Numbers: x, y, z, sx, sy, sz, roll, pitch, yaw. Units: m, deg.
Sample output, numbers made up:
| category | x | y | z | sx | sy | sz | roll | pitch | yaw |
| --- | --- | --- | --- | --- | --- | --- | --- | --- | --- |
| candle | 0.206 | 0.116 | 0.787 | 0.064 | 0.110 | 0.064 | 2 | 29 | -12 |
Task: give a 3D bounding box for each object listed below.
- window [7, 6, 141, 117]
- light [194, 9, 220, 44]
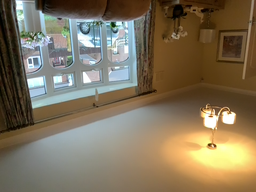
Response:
| category | x | y | z | sx | sy | sz | roll | pitch | yaw |
| --- | --- | --- | --- | --- | --- | --- | --- | --- | --- |
| window | -0.630 | -0.600 | 3.320 | 1.980 | 1.350 | 0.340 | -14 | -159 | -37 |
| light | 1.670 | -1.460 | 4.500 | 0.330 | 0.670 | 0.350 | -14 | -159 | -37 |
